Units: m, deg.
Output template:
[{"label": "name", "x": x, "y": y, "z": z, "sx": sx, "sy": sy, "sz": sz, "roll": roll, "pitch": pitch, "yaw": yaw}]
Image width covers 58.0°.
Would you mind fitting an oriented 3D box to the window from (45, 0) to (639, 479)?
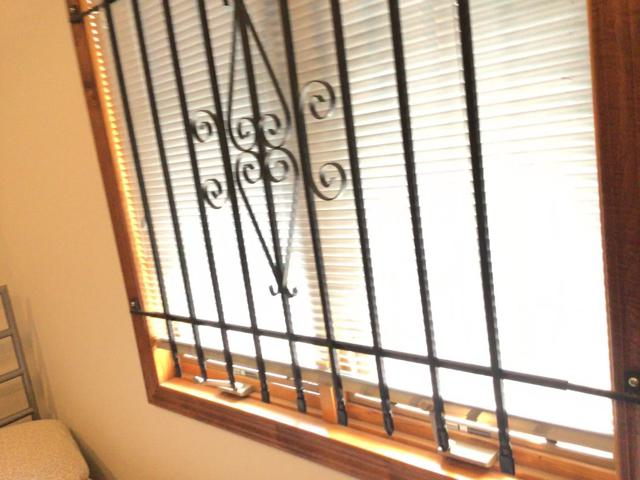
[{"label": "window", "x": -0.070, "y": -0.160, "z": 1.130, "sx": 1.350, "sy": 1.350, "sz": 0.160, "roll": 1, "pitch": 13, "yaw": 41}]
